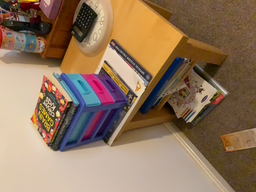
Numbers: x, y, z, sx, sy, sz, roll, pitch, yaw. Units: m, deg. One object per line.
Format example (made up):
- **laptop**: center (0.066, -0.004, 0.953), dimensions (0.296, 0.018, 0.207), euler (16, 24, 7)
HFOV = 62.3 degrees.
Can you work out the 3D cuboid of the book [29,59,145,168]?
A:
- **book**: center (-0.150, 0.050, 0.740), dimensions (0.230, 0.250, 0.240), euler (51, 123, 28)
